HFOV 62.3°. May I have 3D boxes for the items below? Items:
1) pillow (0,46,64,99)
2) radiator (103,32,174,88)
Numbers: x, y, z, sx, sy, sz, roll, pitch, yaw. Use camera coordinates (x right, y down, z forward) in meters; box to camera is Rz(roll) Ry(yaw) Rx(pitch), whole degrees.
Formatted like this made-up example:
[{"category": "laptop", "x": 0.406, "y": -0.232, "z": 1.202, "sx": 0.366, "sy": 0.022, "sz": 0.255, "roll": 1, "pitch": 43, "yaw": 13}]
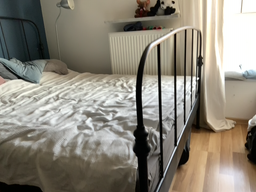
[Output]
[{"category": "pillow", "x": -1.320, "y": -0.230, "z": 2.130, "sx": 0.470, "sy": 0.390, "sz": 1.400, "roll": 4, "pitch": 19, "yaw": 24}, {"category": "radiator", "x": 0.120, "y": -0.420, "z": 2.450, "sx": 0.770, "sy": 0.570, "sz": 0.200, "roll": 5, "pitch": 19, "yaw": 25}]
